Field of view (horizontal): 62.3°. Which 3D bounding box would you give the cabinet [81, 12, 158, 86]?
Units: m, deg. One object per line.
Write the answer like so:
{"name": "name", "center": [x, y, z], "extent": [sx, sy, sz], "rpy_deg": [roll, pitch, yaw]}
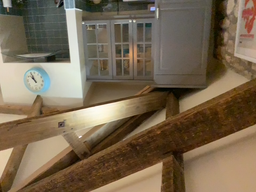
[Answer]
{"name": "cabinet", "center": [-0.090, -0.670, 3.060], "extent": [0.980, 0.940, 0.450], "rpy_deg": [2, -163, 11]}
